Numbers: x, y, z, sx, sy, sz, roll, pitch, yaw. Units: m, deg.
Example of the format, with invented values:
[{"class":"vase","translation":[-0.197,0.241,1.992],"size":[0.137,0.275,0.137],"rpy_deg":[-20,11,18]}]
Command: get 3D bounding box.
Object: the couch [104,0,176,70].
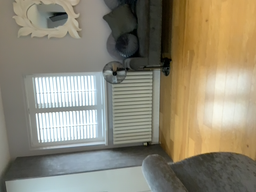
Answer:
[{"class":"couch","translation":[0.140,-1.080,2.940],"size":[0.470,0.890,1.360],"rpy_deg":[-131,40,-72]}]
